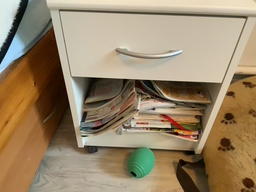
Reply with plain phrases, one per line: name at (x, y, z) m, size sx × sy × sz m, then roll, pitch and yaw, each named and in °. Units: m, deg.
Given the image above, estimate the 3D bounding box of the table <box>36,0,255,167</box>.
table at (0.050, -0.110, 0.690) m, size 0.420 × 0.510 × 0.420 m, roll 3°, pitch 40°, yaw 1°
